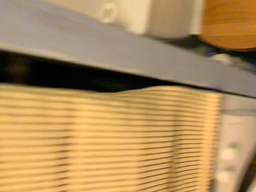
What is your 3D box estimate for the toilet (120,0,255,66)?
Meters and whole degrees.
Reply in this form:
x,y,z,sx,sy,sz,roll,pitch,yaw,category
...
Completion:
x,y,z,sx,sy,sz,roll,pitch,yaw,category
0.460,-0.420,0.930,0.660,0.680,0.460,10,93,51,toilet
